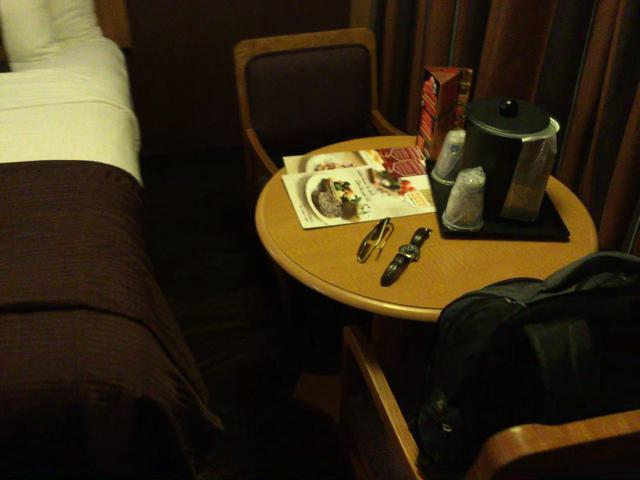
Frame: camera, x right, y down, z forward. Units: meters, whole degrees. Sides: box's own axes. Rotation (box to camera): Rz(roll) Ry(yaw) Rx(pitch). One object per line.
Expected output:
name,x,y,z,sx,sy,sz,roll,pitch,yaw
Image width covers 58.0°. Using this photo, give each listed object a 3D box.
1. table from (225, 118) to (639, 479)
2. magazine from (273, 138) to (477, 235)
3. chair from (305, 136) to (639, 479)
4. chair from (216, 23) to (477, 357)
table,0.270,0.210,1.500,0.880,0.780,0.720,-7,33,-15
magazine,0.110,-0.140,1.350,0.370,0.040,0.350,-7,33,-15
chair,0.370,0.350,1.170,0.620,0.870,0.690,-7,33,-15
chair,0.030,-0.190,1.950,0.620,0.910,0.570,-7,33,-15
